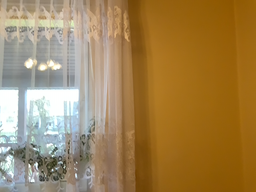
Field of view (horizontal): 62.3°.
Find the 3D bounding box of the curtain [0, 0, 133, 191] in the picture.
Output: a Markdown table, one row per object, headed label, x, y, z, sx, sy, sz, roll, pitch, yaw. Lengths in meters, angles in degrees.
| label | x | y | z | sx | sy | sz | roll | pitch | yaw |
| --- | --- | --- | --- | --- | --- | --- | --- | --- | --- |
| curtain | -0.920 | 0.250 | 1.400 | 1.880 | 2.730 | 0.250 | 0 | -4 | -4 |
